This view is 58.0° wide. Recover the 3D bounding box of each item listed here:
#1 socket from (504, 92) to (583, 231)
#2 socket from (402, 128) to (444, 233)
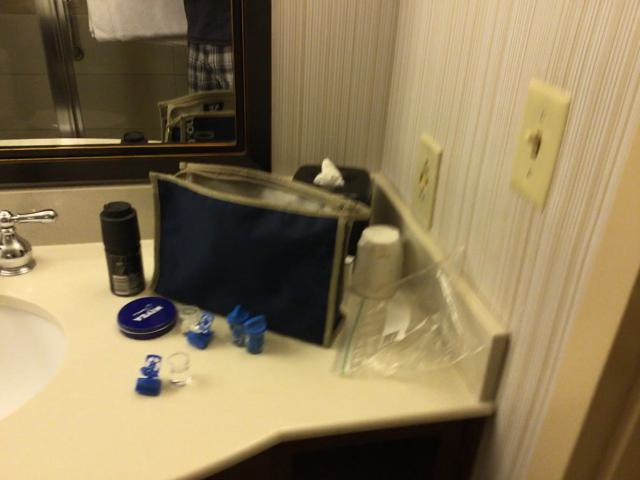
[{"bbox_3d":[0.220,-0.080,0.580,0.010,0.120,0.080,-3,26,-13],"label":"socket"},{"bbox_3d":[0.150,-0.090,0.860,0.010,0.130,0.100,-3,26,-13],"label":"socket"}]
